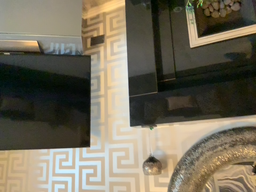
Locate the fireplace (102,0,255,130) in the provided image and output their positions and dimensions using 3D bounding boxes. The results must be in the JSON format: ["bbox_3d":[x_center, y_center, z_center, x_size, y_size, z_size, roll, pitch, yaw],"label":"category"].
[{"bbox_3d":[0.610,-0.420,1.360,1.380,1.120,0.680,-8,165,23],"label":"fireplace"}]

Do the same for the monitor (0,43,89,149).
[{"bbox_3d":[-0.910,-0.010,1.510,1.240,0.760,0.080,0,166,-10],"label":"monitor"}]
